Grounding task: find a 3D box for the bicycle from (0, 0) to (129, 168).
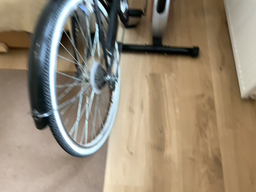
[{"bbox_3d":[-0.150,-0.500,0.950,0.270,0.720,1.490,2,67,2],"label":"bicycle"}]
